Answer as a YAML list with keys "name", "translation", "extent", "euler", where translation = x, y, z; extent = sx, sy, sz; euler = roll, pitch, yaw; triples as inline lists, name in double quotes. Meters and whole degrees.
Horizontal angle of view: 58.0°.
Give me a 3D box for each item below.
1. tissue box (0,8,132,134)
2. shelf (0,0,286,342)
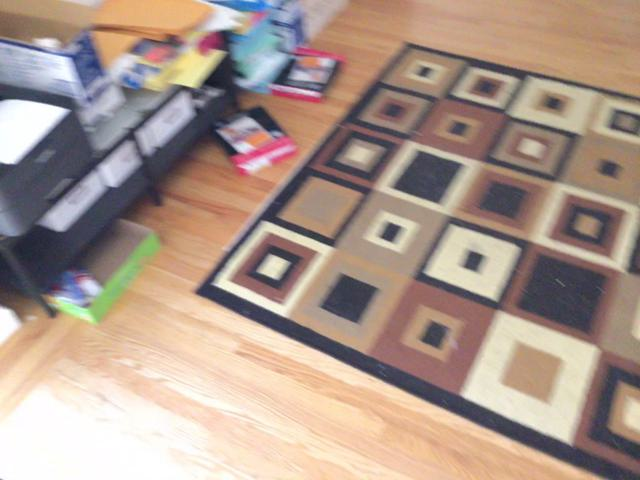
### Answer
- name: "tissue box"
  translation: [-0.750, -0.460, 1.550]
  extent: [0.390, 0.190, 0.200]
  euler: [18, 53, 23]
- name: "shelf"
  translation: [-0.660, -0.430, 1.800]
  extent: [0.430, 0.640, 1.270]
  euler: [18, 53, 23]
